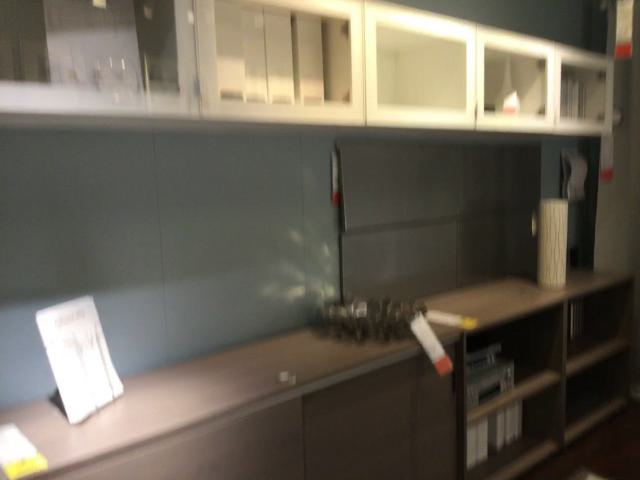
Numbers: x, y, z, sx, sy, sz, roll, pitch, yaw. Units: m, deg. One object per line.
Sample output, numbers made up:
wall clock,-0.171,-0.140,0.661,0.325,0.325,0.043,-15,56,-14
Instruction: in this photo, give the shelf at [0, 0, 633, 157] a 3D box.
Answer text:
shelf,0.240,-0.610,2.120,2.910,0.490,0.480,-9,7,-38

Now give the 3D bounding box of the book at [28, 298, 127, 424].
book,-0.640,0.310,1.540,0.110,0.290,0.210,-14,-6,4
